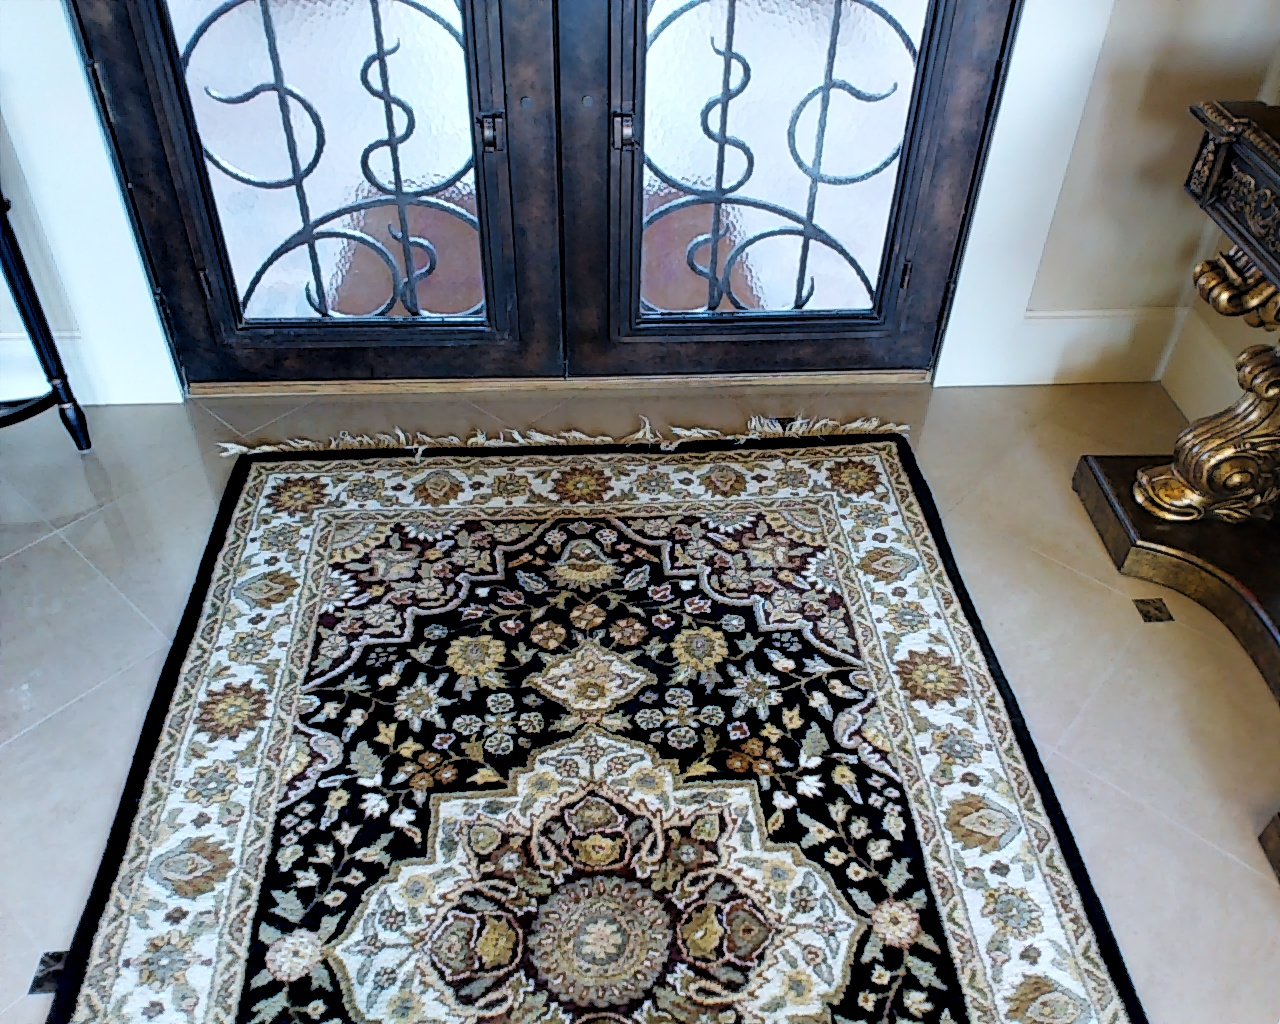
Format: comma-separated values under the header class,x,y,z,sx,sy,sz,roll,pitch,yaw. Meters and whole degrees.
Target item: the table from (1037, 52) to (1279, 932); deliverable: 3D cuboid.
class,x,y,z,sx,sy,sz,roll,pitch,yaw
table,1.190,-0.010,1.680,0.450,0.940,1.310,-2,42,-4
